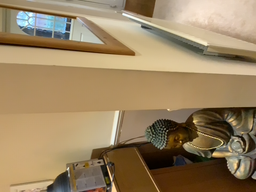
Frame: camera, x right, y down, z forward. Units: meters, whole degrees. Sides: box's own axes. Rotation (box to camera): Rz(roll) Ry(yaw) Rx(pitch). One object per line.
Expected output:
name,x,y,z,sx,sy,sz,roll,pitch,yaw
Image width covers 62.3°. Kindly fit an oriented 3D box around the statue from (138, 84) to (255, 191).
statue,0.580,0.280,1.410,0.560,0.780,0.530,-126,41,-55
